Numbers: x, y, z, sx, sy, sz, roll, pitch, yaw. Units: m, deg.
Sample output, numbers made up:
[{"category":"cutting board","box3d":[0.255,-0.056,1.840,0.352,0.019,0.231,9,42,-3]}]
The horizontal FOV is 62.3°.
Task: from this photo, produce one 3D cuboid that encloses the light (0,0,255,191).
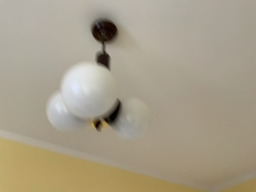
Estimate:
[{"category":"light","box3d":[-0.010,-0.090,0.740,0.520,0.410,0.600,27,-138,-26]}]
